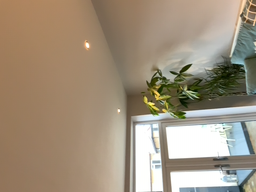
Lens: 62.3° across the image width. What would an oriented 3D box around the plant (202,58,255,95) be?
[{"bbox_3d":[1.810,-0.320,3.440,0.350,1.090,0.380,69,-162,-56],"label":"plant"}]
